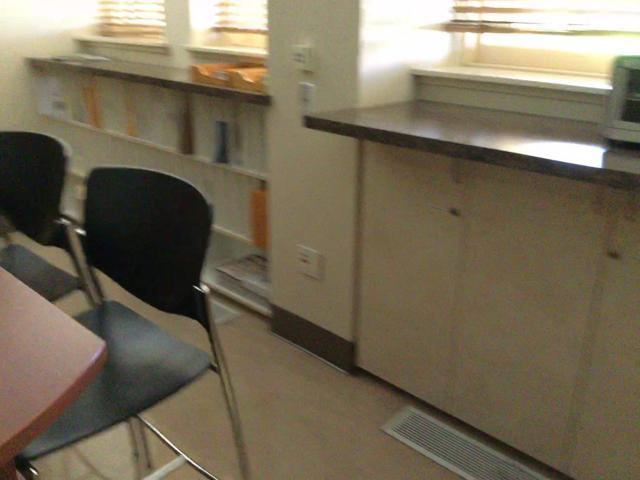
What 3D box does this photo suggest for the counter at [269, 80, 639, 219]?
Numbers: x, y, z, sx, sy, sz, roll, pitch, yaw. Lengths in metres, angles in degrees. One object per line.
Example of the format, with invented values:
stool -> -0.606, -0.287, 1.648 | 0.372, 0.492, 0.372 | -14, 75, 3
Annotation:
counter -> 0.770, -0.170, 1.270 | 2.050, 0.130, 0.520 | 21, 28, 39

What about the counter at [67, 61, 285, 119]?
counter -> -0.770, -0.740, 2.750 | 1.600, 0.090, 0.140 | 21, 28, 39
